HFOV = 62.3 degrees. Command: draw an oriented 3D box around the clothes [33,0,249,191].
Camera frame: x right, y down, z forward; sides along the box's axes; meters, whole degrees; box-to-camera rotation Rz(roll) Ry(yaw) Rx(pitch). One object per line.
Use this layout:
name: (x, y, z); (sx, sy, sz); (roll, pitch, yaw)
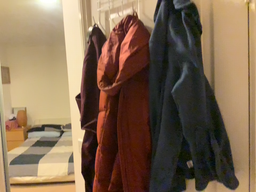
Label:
clothes: (-0.020, 0.120, 0.890); (0.890, 1.110, 0.230); (1, 6, 40)
